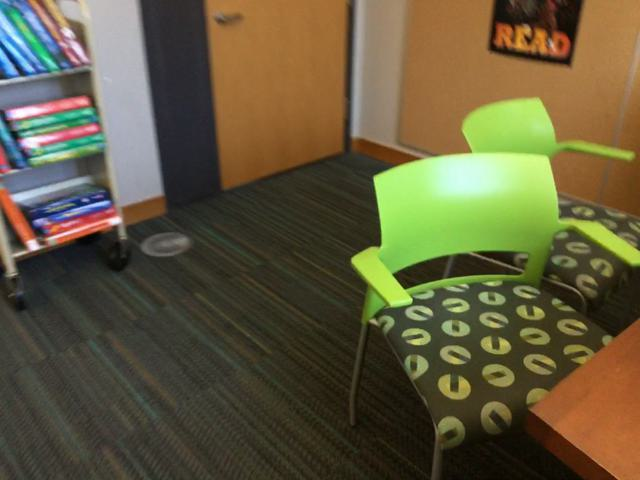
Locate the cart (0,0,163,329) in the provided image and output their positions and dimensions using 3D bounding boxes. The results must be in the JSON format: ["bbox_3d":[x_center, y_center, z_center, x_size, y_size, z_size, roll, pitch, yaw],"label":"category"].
[{"bbox_3d":[-1.000,-0.380,2.130,0.540,1.220,0.460,-20,32,-35],"label":"cart"}]
